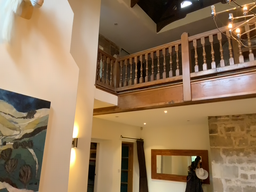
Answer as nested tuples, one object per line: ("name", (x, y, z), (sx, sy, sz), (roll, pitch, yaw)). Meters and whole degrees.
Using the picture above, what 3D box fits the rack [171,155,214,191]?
("rack", (1.820, 2.670, 5.920), (0.950, 1.920, 0.730), (-10, -19, 35))
